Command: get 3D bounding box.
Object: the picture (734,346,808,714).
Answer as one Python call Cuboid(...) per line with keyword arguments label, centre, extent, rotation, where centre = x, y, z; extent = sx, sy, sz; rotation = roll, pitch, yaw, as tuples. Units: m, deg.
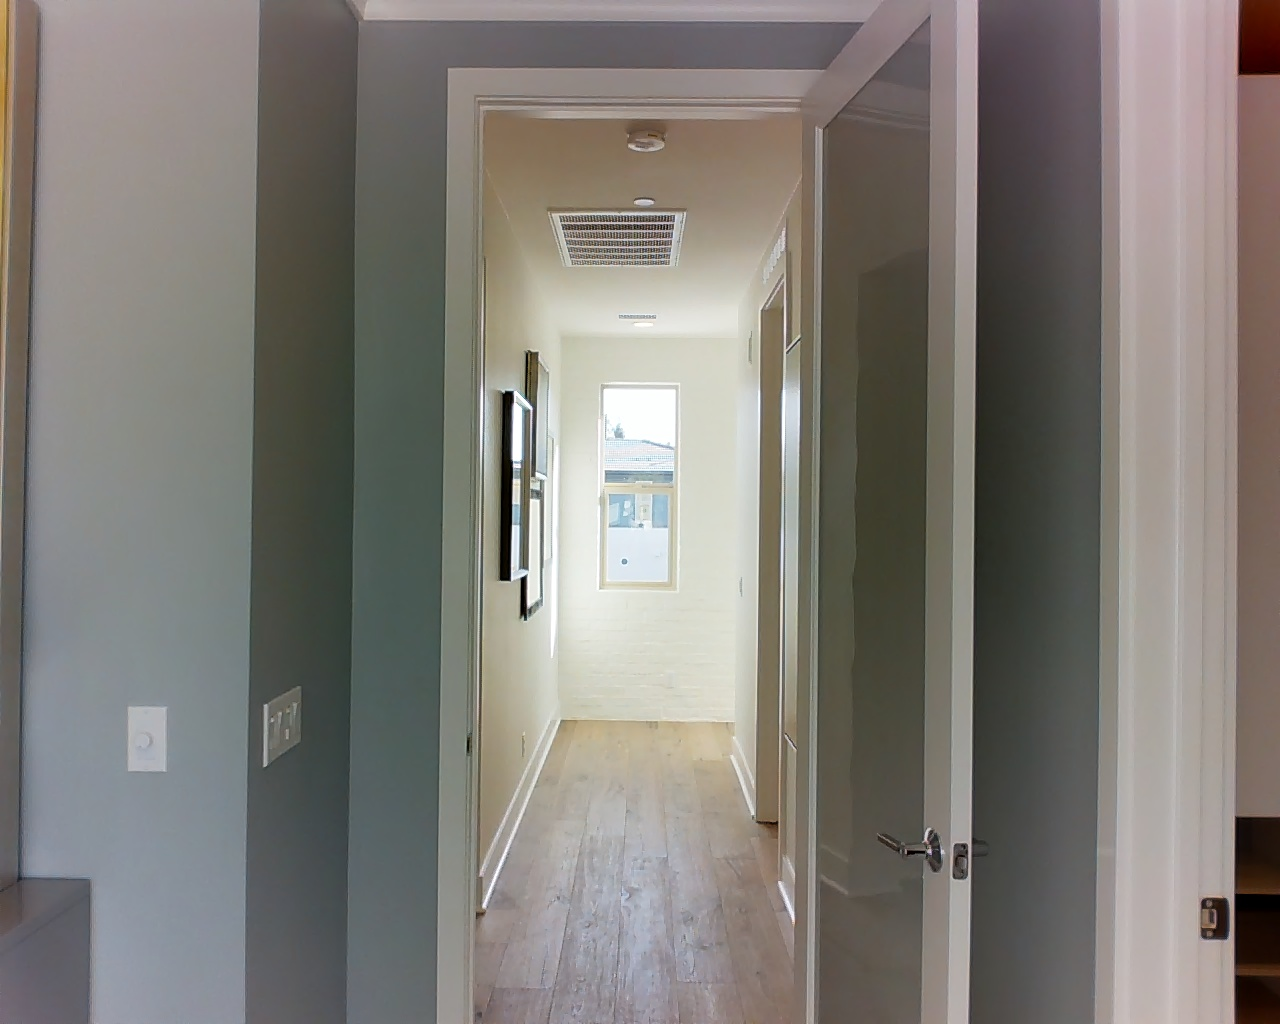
Cuboid(label="picture", centre=(0.630, 0.080, 5.340), extent=(0.200, 1.601, 1.350), rotation=(1, 0, 1))
